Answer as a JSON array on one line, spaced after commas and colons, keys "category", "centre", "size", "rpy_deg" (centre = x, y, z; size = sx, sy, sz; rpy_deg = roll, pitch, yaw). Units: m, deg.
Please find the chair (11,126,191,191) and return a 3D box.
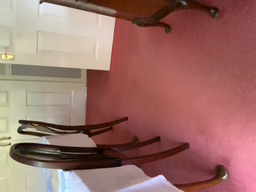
[{"category": "chair", "centre": [-0.150, 0.510, 1.270], "size": [0.470, 0.960, 0.530], "rpy_deg": [2, 92, 60]}]
